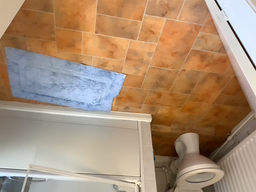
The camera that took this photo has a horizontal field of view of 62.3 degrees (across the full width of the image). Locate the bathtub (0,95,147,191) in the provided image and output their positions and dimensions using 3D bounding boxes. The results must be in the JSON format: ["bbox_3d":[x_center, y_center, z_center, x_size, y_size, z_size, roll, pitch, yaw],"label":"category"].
[{"bbox_3d":[-0.690,0.490,1.780,1.510,0.570,0.710,8,139,-11],"label":"bathtub"}]

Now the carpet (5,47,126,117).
[{"bbox_3d":[-0.460,-0.060,1.570,0.790,0.050,0.440,14,138,-17],"label":"carpet"}]
